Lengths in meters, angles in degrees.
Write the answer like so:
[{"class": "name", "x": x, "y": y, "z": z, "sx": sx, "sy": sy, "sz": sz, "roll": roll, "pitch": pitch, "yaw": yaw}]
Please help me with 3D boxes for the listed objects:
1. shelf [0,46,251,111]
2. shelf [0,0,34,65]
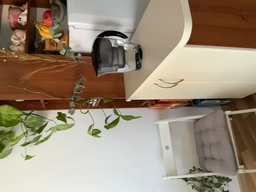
[{"class": "shelf", "x": 0.010, "y": -0.110, "z": 1.650, "sx": 0.320, "sy": 1.950, "sz": 0.340, "roll": 131, "pitch": 136, "yaw": -67}, {"class": "shelf", "x": -0.800, "y": -0.490, "z": 1.540, "sx": 0.290, "sy": 0.160, "sz": 0.450, "roll": 137, "pitch": 131, "yaw": -69}]
